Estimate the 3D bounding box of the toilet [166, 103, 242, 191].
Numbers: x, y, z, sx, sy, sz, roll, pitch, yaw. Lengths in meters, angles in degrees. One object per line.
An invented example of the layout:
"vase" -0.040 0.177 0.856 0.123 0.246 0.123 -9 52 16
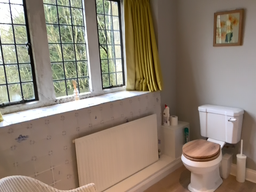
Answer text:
"toilet" 0.830 0.560 2.310 0.710 0.810 0.480 -13 14 -42
